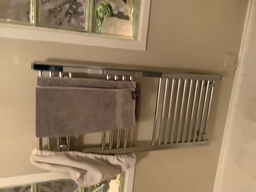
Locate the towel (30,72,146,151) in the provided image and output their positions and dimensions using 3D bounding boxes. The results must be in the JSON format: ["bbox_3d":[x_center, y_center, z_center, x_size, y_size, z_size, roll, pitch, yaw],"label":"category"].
[{"bbox_3d":[-0.180,0.060,0.990,0.120,0.500,0.310,-156,68,-64],"label":"towel"}]
